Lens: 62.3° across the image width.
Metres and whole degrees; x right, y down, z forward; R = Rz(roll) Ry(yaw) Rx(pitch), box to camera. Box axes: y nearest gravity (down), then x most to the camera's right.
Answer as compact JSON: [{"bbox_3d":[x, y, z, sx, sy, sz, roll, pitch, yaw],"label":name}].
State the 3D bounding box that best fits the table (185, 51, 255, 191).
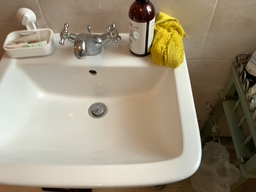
[{"bbox_3d":[0.540,0.220,0.920,0.370,0.760,0.360,0,53,1],"label":"table"}]
